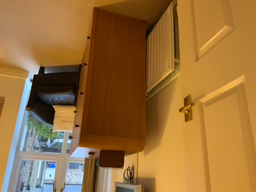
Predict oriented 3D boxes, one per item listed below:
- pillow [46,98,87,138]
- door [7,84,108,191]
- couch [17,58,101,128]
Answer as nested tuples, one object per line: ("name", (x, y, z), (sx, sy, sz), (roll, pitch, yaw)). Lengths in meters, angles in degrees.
("pillow", (-0.800, 0.280, 2.750), (0.420, 0.380, 0.140), (19, -167, 3))
("door", (-0.970, 0.830, 3.170), (1.250, 1.910, 0.110), (9, 158, -19))
("couch", (-0.820, 0.000, 2.720), (0.730, 0.680, 0.640), (-2, 158, 10))
